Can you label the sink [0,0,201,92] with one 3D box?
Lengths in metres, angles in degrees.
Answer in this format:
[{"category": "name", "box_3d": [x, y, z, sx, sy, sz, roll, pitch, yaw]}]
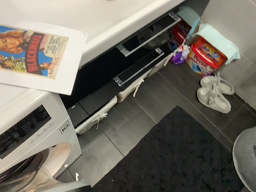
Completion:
[{"category": "sink", "box_3d": [-0.050, -0.400, 0.770, 0.770, 0.120, 0.410, -37, 75, -21]}]
